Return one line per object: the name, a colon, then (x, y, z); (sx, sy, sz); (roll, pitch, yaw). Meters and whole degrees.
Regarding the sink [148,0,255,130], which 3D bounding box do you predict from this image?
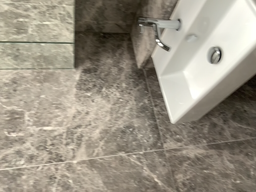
sink: (0.280, -0.160, 0.810); (0.600, 0.150, 0.380); (115, 148, -58)
